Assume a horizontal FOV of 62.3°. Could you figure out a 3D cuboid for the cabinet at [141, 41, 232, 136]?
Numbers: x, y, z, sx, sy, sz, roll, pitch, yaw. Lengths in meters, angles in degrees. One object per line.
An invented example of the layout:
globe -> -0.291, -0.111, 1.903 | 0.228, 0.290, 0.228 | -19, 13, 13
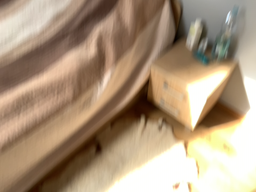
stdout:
cabinet -> 0.390, -0.060, 1.540 | 0.430, 0.390, 0.380 | 37, 59, 26
